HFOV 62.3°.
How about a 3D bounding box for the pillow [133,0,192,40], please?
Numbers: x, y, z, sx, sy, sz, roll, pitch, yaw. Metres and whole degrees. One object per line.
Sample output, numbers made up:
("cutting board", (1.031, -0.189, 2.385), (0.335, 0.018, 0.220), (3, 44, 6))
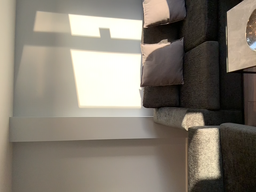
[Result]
("pillow", (0.430, -1.080, 2.570), (0.540, 0.520, 0.220), (-59, 14, -26))

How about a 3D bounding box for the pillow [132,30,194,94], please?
("pillow", (0.420, -0.390, 2.560), (0.550, 0.510, 0.200), (-60, 13, -4))
